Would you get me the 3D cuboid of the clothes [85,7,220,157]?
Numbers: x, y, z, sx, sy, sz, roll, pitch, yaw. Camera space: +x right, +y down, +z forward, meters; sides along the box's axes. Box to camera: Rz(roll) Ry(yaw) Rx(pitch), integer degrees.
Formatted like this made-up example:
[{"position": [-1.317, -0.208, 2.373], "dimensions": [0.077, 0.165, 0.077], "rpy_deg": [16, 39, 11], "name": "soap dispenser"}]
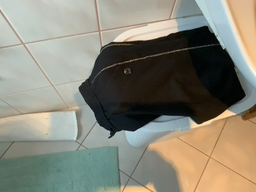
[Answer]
[{"position": [0.040, 0.010, 0.860], "dimensions": [0.290, 0.580, 0.340], "rpy_deg": [-13, 70, -9], "name": "clothes"}]
